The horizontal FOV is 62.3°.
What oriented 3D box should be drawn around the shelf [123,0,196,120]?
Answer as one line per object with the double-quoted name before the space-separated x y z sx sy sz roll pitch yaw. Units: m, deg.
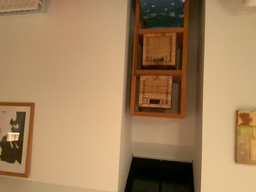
"shelf" 0.260 -0.530 1.670 0.460 1.390 0.380 3 175 8
